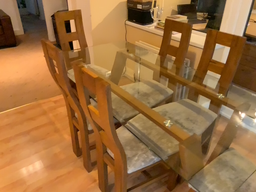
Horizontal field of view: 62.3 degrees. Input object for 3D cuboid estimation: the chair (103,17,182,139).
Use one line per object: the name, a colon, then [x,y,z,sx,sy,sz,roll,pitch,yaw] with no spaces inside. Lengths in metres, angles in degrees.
chair: [0.120,-0.180,2.100,0.550,1.030,0.400,-22,39,-32]

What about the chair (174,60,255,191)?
chair: [0.630,0.420,1.140,0.400,1.030,0.550,-22,39,-32]

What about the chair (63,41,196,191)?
chair: [0.010,0.250,1.400,0.590,1.030,0.390,-22,39,-32]
